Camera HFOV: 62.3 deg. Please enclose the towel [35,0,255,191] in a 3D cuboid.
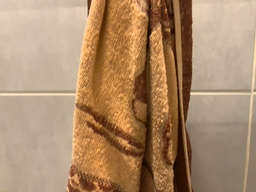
[{"bbox_3d":[0.030,0.090,0.310,0.230,0.570,0.160,-1,9,1],"label":"towel"}]
